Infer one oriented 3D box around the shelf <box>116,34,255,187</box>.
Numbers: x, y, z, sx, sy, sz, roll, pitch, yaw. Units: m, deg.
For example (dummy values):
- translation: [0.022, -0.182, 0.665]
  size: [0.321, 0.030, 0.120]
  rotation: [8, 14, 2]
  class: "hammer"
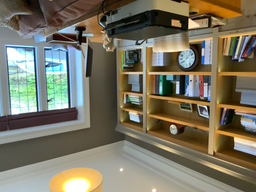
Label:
- translation: [0.880, 0.040, 3.290]
  size: [0.530, 1.630, 2.940]
  rotation: [-5, -171, -38]
  class: "shelf"
